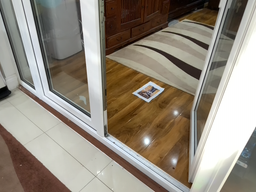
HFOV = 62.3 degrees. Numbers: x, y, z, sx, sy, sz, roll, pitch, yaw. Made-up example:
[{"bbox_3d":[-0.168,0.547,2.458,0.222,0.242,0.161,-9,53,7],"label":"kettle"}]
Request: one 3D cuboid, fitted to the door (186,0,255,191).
[{"bbox_3d":[0.540,-0.490,0.910,0.100,2.050,0.910,12,38,11],"label":"door"}]
